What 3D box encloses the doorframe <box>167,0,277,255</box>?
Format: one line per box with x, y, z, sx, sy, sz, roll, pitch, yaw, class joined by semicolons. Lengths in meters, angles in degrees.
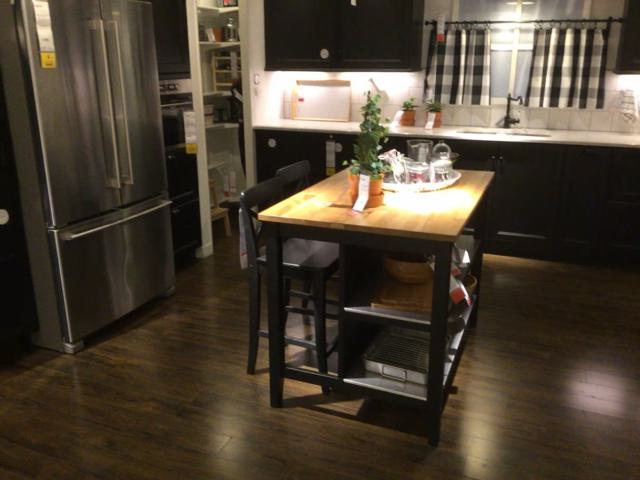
-0.710;-1.030;4.470;0.170;2.090;0.970;7;21;25;doorframe
